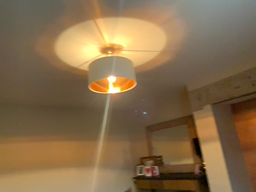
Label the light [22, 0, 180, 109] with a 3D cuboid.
[{"bbox_3d":[-0.210,-0.360,1.740,0.370,1.100,0.820,-42,-125,43],"label":"light"}]
